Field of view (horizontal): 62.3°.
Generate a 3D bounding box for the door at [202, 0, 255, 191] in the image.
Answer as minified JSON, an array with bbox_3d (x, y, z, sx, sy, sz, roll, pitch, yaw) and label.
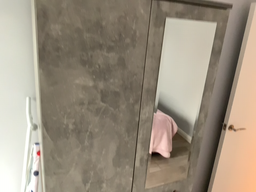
[{"bbox_3d":[1.150,0.220,1.950,0.840,2.000,0.040,-4,20,-23],"label":"door"}]
